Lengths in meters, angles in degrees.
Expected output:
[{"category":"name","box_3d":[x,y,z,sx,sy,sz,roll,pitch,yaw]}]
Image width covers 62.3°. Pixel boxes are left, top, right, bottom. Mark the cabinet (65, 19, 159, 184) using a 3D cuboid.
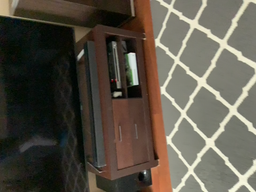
[{"category":"cabinet","box_3d":[-0.190,0.050,2.030,0.710,0.510,1.240,-8,85,54]}]
